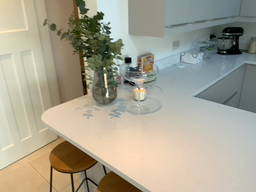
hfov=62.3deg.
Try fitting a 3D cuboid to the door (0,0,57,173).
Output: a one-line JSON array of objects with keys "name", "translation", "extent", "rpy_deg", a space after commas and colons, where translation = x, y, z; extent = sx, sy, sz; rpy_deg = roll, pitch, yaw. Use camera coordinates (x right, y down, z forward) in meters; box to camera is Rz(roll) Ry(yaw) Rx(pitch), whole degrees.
[{"name": "door", "translation": [-1.140, -0.280, 2.020], "extent": [0.060, 2.100, 0.680], "rpy_deg": [17, 29, 35]}]
